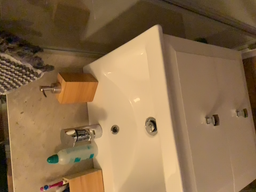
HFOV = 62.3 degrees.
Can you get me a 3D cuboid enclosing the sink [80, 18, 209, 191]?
[{"bbox_3d":[0.020,0.100,0.690,0.390,0.130,0.540,-13,82,50],"label":"sink"}]
